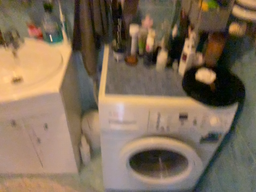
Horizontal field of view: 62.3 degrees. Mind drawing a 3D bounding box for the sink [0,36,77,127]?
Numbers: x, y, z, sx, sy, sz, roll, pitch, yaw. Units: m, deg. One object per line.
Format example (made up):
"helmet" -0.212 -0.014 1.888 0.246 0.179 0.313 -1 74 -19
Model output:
"sink" -0.630 -0.100 1.100 0.630 0.200 0.500 0 42 -4
